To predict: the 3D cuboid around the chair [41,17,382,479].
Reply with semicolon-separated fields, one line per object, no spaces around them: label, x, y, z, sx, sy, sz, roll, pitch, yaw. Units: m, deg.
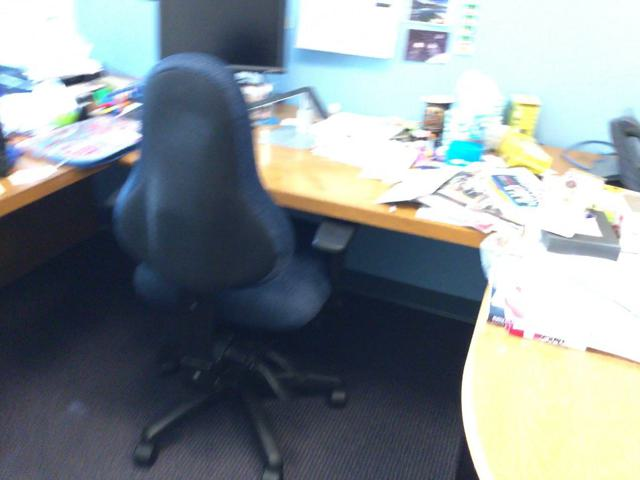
chair;-0.200;0.030;1.500;0.540;1.060;0.570;9;28;13
